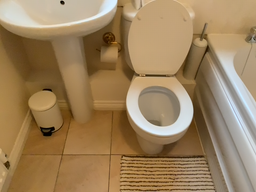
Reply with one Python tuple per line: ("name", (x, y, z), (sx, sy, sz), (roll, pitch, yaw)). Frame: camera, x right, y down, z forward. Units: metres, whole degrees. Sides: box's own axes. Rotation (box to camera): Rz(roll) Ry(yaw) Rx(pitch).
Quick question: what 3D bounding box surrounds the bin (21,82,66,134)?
("bin", (-0.540, 0.080, 1.400), (0.190, 0.260, 0.220), (-3, 45, -6))
